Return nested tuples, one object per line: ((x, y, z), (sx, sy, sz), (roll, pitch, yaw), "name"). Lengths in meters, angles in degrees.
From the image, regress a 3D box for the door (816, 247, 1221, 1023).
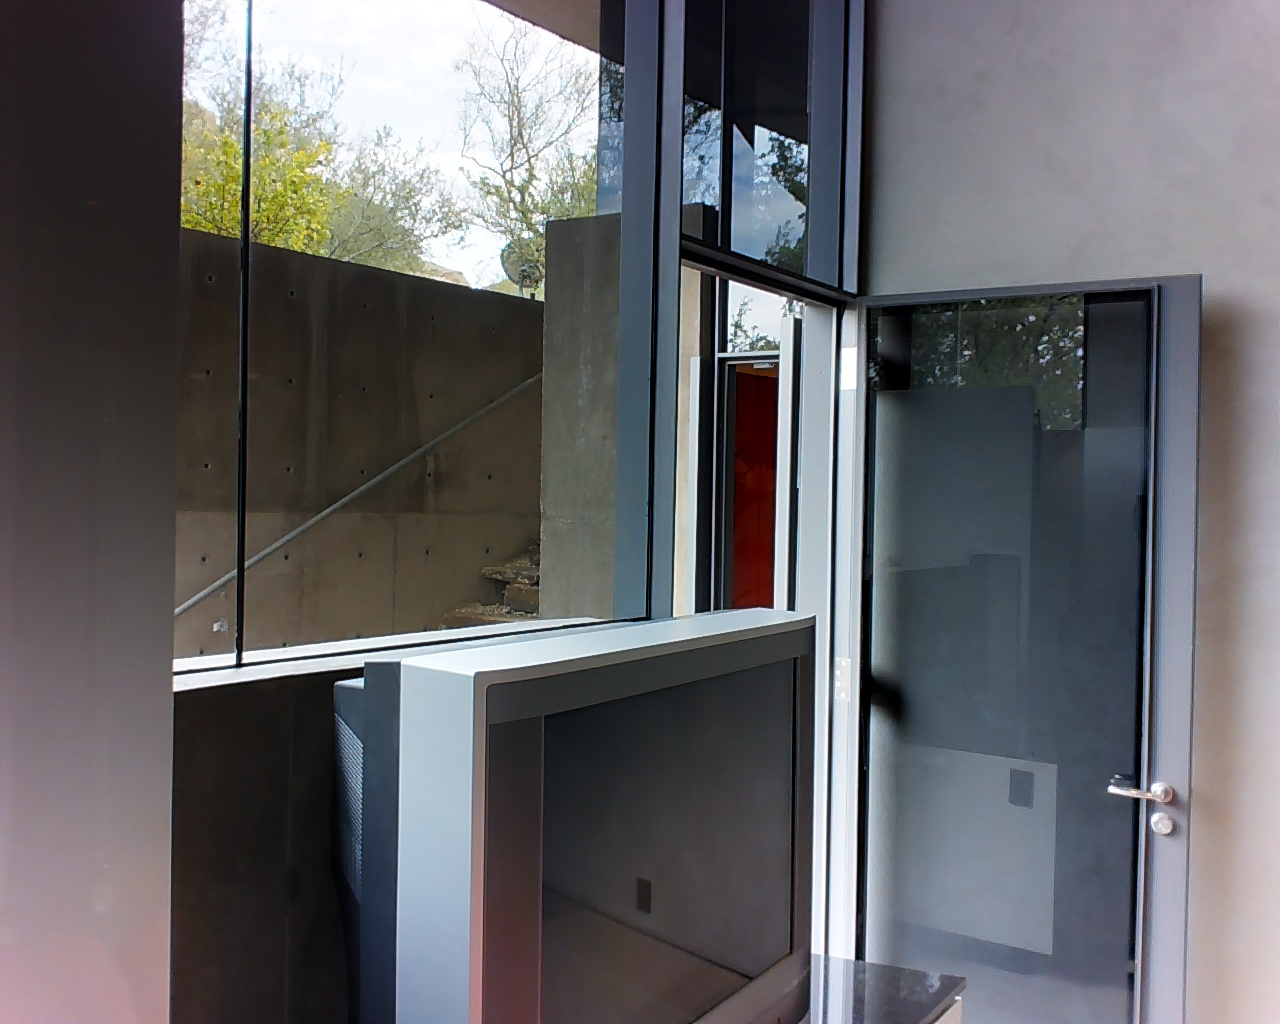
((0.940, 0.450, 2.760), (0.870, 2.201, 0.080), (3, 1, 23), "door")
